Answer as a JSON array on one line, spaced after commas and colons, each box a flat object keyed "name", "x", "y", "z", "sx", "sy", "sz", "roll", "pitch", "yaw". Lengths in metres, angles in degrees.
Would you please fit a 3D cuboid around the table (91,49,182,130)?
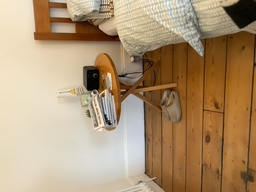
[{"name": "table", "x": 0.050, "y": -0.090, "z": 1.740, "sx": 0.540, "sy": 0.550, "sz": 0.530, "roll": -166, "pitch": 72, "yaw": -64}]
